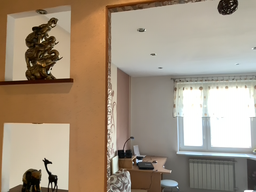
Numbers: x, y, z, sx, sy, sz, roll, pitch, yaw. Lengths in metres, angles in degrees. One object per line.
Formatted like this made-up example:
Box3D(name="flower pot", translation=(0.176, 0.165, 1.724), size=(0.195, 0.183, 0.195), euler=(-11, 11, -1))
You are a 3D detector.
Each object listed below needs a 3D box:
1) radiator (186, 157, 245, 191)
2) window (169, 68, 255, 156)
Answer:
Box3D(name="radiator", translation=(1.710, 1.590, 4.200), size=(1.070, 0.660, 0.150), euler=(0, -4, 11))
Box3D(name="window", translation=(2.520, 0.310, 4.220), size=(3.310, 1.700, 0.250), euler=(-1, -4, 12))
